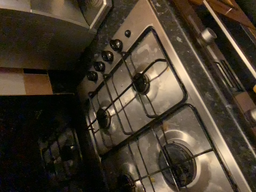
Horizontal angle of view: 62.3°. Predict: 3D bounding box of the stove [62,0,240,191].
[{"bbox_3d":[-0.030,0.110,0.670,0.540,0.040,0.610,-43,60,42],"label":"stove"}]
